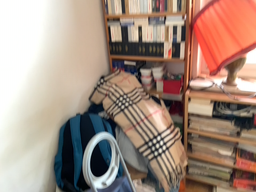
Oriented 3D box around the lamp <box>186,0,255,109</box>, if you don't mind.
[{"bbox_3d":[0.650,-0.320,1.300,0.460,0.610,0.480,7,27,23],"label":"lamp"}]
